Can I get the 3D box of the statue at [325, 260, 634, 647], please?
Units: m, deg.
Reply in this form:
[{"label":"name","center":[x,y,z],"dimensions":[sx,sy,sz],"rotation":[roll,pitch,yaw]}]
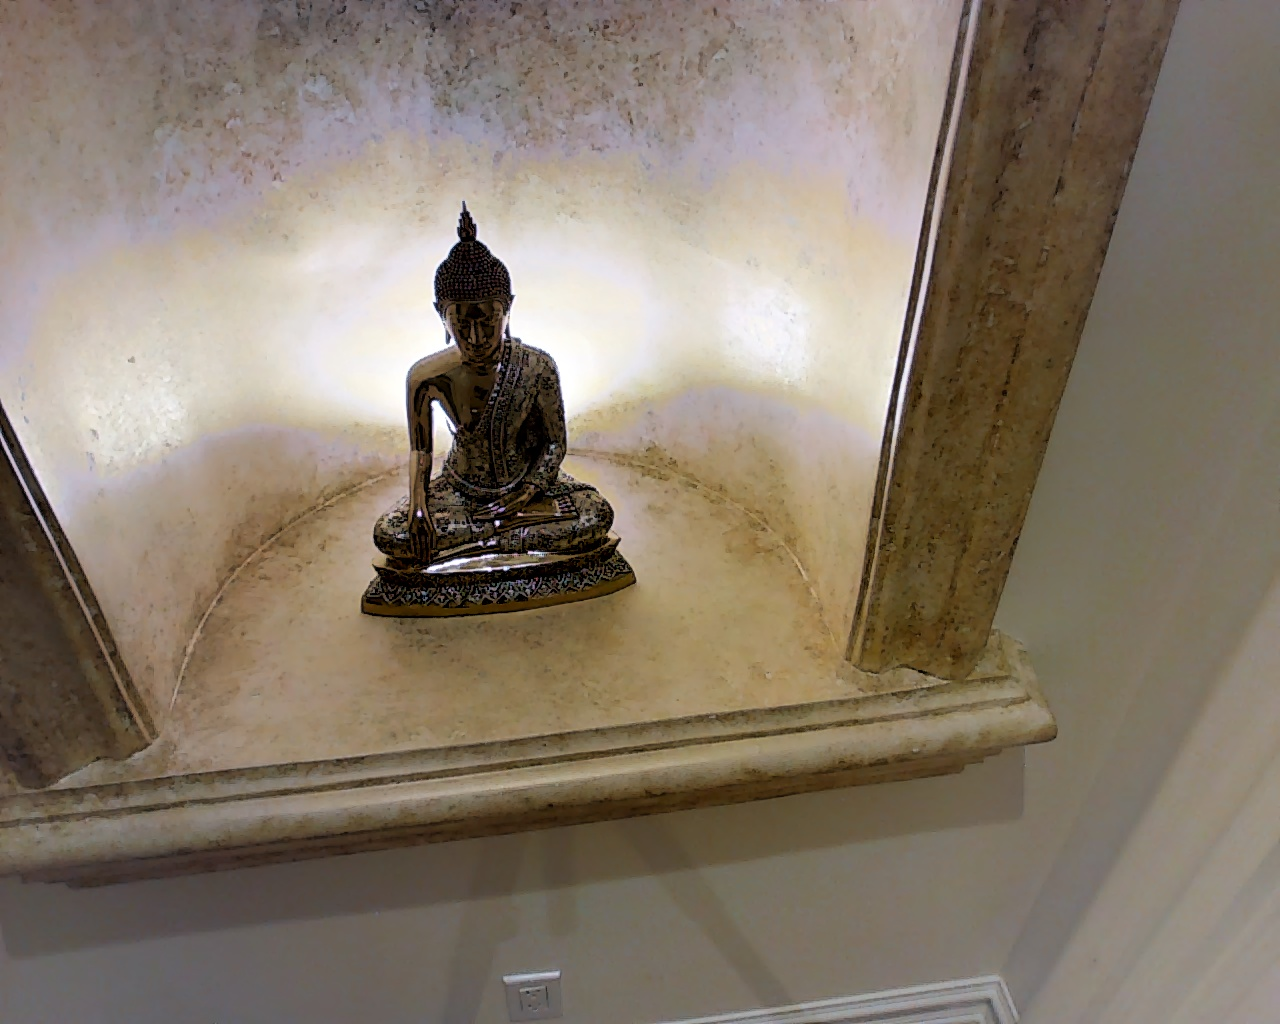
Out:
[{"label":"statue","center":[-0.140,-0.060,1.020],"dimensions":[0.240,0.240,0.260],"rotation":[-5,42,-5]}]
